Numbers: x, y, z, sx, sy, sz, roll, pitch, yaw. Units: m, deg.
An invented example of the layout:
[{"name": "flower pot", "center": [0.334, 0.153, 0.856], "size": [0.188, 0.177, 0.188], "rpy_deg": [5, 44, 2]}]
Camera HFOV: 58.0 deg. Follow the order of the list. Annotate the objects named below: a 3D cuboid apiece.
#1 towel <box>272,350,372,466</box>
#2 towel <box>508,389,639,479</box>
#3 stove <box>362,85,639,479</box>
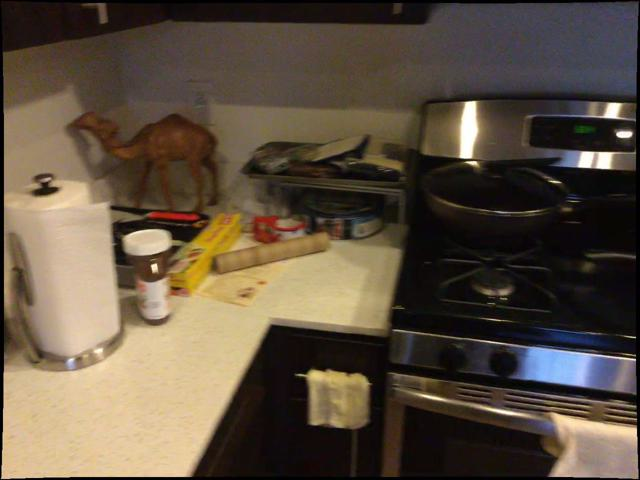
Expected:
[{"name": "towel", "center": [0.010, 0.351, 1.200], "size": [0.190, 0.230, 0.070], "rpy_deg": [2, 27, 10]}, {"name": "towel", "center": [0.509, 0.391, 1.000], "size": [0.319, 0.210, 0.110], "rpy_deg": [2, 27, 10]}, {"name": "stove", "center": [0.559, 0.301, 1.350], "size": [0.828, 1.142, 0.760], "rpy_deg": [2, 27, 10]}]
